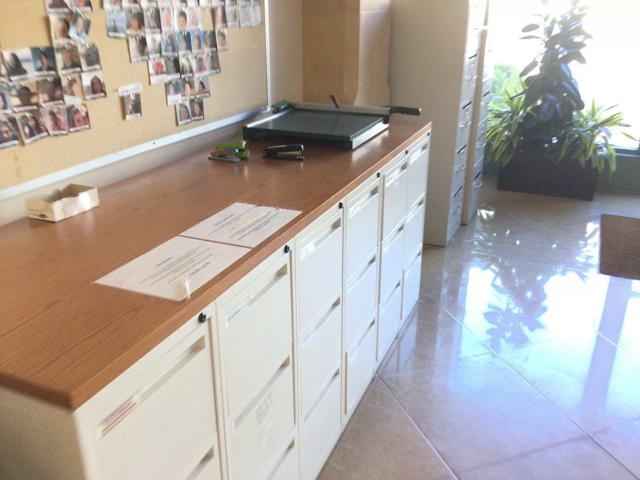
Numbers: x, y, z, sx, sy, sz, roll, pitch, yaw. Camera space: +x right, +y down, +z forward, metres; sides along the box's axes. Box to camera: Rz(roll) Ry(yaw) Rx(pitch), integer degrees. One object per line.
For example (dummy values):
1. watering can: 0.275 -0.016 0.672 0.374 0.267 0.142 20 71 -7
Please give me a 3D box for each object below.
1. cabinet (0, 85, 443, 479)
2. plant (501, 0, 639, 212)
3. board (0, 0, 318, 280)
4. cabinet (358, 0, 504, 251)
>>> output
1. cabinet: -0.250 0.240 2.040 0.790 1.120 2.310 6 26 25
2. plant: 1.990 -1.050 4.210 1.160 1.490 0.700 6 26 25
3. board: -0.560 -0.840 1.850 0.180 1.310 1.950 6 26 25
4. cabinet: 0.710 -0.760 3.610 0.700 1.500 0.560 6 26 25
